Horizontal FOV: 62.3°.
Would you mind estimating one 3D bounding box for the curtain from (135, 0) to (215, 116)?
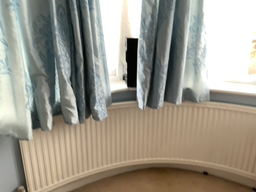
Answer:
[{"bbox_3d":[0.300,-0.670,1.350,0.480,1.620,0.180,-7,22,-15],"label":"curtain"}]

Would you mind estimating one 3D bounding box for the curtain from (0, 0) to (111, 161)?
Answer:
[{"bbox_3d":[-0.470,-0.500,1.070,0.690,1.650,0.180,-12,24,-26],"label":"curtain"}]
